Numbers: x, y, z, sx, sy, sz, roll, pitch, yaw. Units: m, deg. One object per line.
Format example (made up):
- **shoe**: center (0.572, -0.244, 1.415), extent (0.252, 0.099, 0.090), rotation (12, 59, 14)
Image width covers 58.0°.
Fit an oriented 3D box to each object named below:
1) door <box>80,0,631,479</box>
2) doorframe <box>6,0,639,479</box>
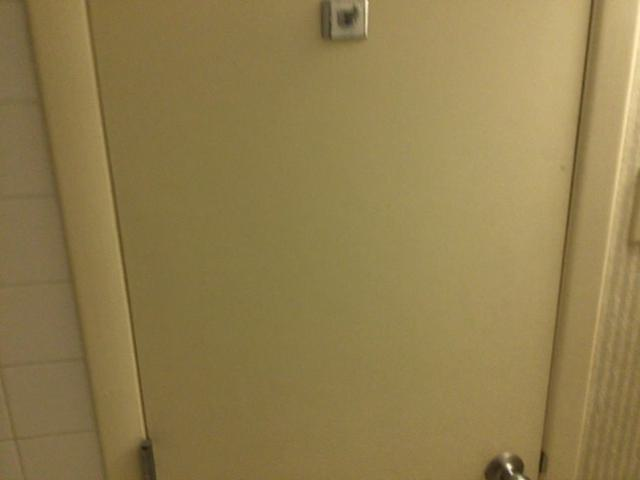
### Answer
- **door**: center (0.070, 0.460, 0.880), extent (0.600, 1.690, 0.070), rotation (-4, 18, -8)
- **doorframe**: center (0.070, 0.440, 0.890), extent (0.760, 1.690, 0.040), rotation (-4, 18, -8)
